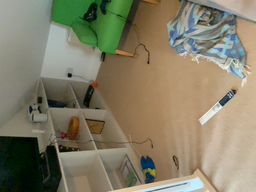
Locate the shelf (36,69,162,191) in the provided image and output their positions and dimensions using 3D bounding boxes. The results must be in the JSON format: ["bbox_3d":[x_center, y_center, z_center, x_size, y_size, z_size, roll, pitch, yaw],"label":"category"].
[{"bbox_3d":[-0.510,0.420,2.500,2.090,0.800,0.390,55,131,44],"label":"shelf"}]

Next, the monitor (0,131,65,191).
[{"bbox_3d":[-0.870,0.580,1.780,0.740,0.560,0.060,56,134,47],"label":"monitor"}]
